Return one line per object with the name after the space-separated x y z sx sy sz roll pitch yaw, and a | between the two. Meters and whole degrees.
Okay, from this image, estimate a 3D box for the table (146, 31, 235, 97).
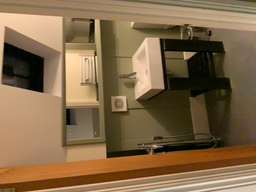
0.630 -0.310 2.270 0.480 0.720 0.540 141 126 -72 | table
